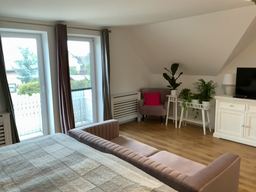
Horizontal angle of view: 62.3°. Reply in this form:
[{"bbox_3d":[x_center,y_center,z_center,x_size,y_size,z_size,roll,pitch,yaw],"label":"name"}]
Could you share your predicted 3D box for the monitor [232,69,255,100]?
[{"bbox_3d":[2.480,-0.210,4.060,0.060,0.580,0.890,-10,13,-44],"label":"monitor"}]
